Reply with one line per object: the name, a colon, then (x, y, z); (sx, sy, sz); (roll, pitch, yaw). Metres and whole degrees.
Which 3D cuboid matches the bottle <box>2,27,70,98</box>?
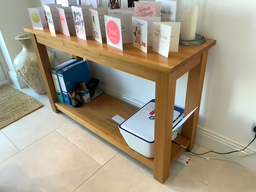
bottle: (-0.930, -0.360, 2.200); (0.350, 0.560, 0.400); (24, 41, 36)
